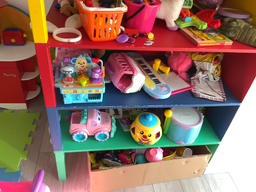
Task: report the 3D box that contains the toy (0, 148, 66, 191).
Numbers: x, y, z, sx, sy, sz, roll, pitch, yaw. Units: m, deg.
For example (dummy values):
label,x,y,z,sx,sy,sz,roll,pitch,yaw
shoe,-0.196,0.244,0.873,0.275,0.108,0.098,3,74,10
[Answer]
label,x,y,z,sx,sy,sz,roll,pitch,yaw
toy,-0.640,0.490,1.080,0.570,0.340,0.280,2,38,-8
